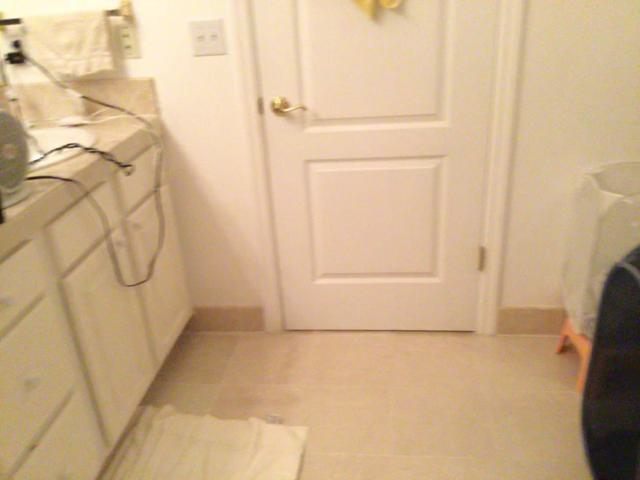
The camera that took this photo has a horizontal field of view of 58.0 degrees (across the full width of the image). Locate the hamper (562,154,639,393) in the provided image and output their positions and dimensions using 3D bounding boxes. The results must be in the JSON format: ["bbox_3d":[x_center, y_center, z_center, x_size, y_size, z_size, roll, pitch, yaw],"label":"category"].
[{"bbox_3d":[1.040,0.100,1.840,0.410,0.670,0.350,-4,24,11],"label":"hamper"}]

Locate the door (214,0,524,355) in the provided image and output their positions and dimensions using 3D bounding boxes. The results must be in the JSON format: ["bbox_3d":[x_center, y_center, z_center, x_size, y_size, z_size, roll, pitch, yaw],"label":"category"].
[{"bbox_3d":[0.180,-0.360,1.920,0.810,1.640,0.090,-8,23,13],"label":"door"}]

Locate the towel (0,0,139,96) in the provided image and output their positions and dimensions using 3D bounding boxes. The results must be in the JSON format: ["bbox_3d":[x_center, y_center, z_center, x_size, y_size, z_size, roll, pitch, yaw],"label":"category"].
[{"bbox_3d":[-0.860,-0.640,1.910,0.450,0.260,0.090,-4,24,11],"label":"towel"}]
